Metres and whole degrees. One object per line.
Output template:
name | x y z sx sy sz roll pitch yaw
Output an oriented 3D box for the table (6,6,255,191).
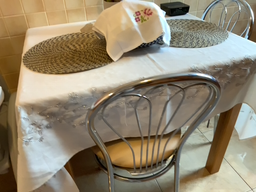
table | 0.020 0.030 1.150 0.930 0.750 0.710 -13 37 -15
